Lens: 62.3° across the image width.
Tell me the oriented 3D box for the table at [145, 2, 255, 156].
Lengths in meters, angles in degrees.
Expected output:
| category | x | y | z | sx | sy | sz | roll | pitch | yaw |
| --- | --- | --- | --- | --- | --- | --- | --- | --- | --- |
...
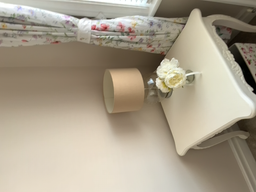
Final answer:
| category | x | y | z | sx | sy | sz | roll | pitch | yaw |
| --- | --- | --- | --- | --- | --- | --- | --- | --- | --- |
| table | 0.580 | -0.070 | 1.320 | 0.640 | 0.600 | 0.630 | 122 | 138 | -55 |
